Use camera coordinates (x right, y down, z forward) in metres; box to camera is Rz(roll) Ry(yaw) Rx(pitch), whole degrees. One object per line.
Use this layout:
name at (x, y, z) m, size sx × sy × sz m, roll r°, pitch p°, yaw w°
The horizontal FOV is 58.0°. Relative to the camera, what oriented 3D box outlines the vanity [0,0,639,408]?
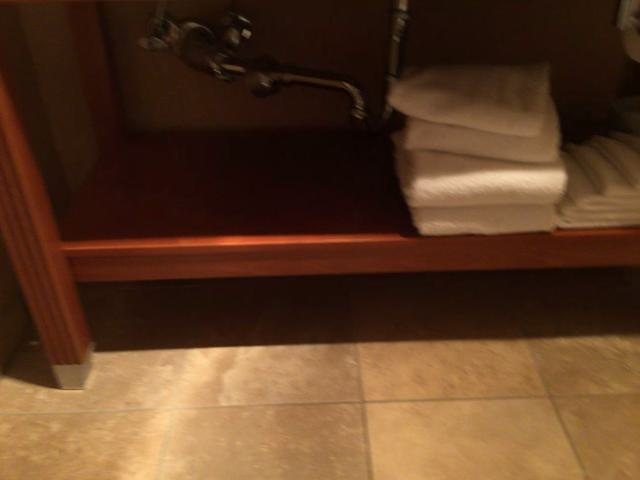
vanity at (0.130, -0.310, 0.950) m, size 1.310 × 1.020 × 0.560 m, roll -2°, pitch 34°, yaw -2°
